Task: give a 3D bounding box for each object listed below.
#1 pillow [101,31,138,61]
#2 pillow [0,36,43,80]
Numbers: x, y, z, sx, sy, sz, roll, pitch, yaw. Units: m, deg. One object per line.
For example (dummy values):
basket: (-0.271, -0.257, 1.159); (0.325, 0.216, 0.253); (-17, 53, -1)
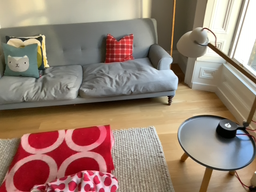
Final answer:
pillow: (-0.100, -0.620, 2.650); (0.420, 0.310, 0.150); (-6, 5, -2)
pillow: (-1.220, -0.420, 2.380); (0.400, 0.400, 0.210); (-7, -4, 3)
